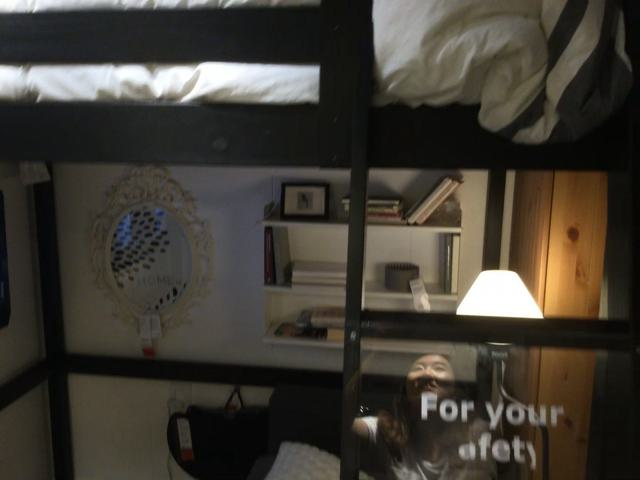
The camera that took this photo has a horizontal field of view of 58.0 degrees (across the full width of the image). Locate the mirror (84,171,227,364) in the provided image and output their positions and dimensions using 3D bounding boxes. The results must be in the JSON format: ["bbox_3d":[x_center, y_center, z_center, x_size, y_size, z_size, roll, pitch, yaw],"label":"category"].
[{"bbox_3d":[-0.720,0.120,2.550,0.580,0.840,0.080,1,10,10],"label":"mirror"}]

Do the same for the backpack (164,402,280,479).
[{"bbox_3d":[-0.430,0.960,2.580,0.470,0.400,0.150,1,10,10],"label":"backpack"}]
